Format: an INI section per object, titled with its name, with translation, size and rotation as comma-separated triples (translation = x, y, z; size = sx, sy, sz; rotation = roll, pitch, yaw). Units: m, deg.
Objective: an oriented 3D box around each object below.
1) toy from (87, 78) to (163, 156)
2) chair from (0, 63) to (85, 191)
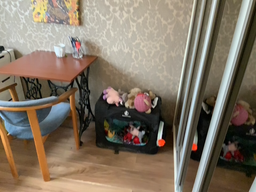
[toy]
translation = -0.020, 0.190, 2.070
size = 0.630, 0.540, 0.400
rotation = 8, 29, 8
[chair]
translation = -0.740, 0.210, 1.710
size = 0.560, 0.720, 0.610
rotation = 8, 29, 8
